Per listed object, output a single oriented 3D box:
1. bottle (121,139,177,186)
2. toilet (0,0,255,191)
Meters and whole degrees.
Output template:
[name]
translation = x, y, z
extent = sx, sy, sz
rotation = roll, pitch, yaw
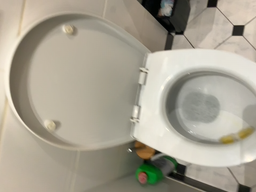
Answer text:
[bottle]
translation = 0.110, 0.290, 0.980
extent = 0.130, 0.290, 0.130
rotation = 9, 90, 31
[toilet]
translation = 0.170, 0.020, 0.660
extent = 0.520, 0.860, 0.380
rotation = 9, 90, 31
